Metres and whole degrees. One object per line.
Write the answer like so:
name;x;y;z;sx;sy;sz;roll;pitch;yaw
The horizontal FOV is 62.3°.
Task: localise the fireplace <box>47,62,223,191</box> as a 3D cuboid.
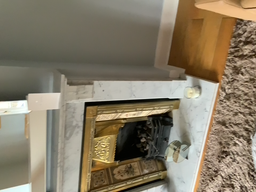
fireplace;-0.010;0.440;1.770;0.690;1.120;1.280;30;117;54
